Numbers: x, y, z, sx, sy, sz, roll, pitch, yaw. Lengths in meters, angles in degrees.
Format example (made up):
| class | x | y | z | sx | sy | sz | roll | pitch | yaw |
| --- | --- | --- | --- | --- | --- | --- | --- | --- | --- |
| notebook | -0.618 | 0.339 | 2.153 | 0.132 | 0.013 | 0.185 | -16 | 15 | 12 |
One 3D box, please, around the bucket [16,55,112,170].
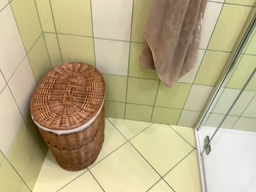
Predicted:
| class | x | y | z | sx | sy | sz | roll | pitch | yaw |
| --- | --- | --- | --- | --- | --- | --- | --- | --- | --- |
| bucket | -0.330 | 0.110 | 1.330 | 0.380 | 0.520 | 0.440 | 8 | 47 | 2 |
